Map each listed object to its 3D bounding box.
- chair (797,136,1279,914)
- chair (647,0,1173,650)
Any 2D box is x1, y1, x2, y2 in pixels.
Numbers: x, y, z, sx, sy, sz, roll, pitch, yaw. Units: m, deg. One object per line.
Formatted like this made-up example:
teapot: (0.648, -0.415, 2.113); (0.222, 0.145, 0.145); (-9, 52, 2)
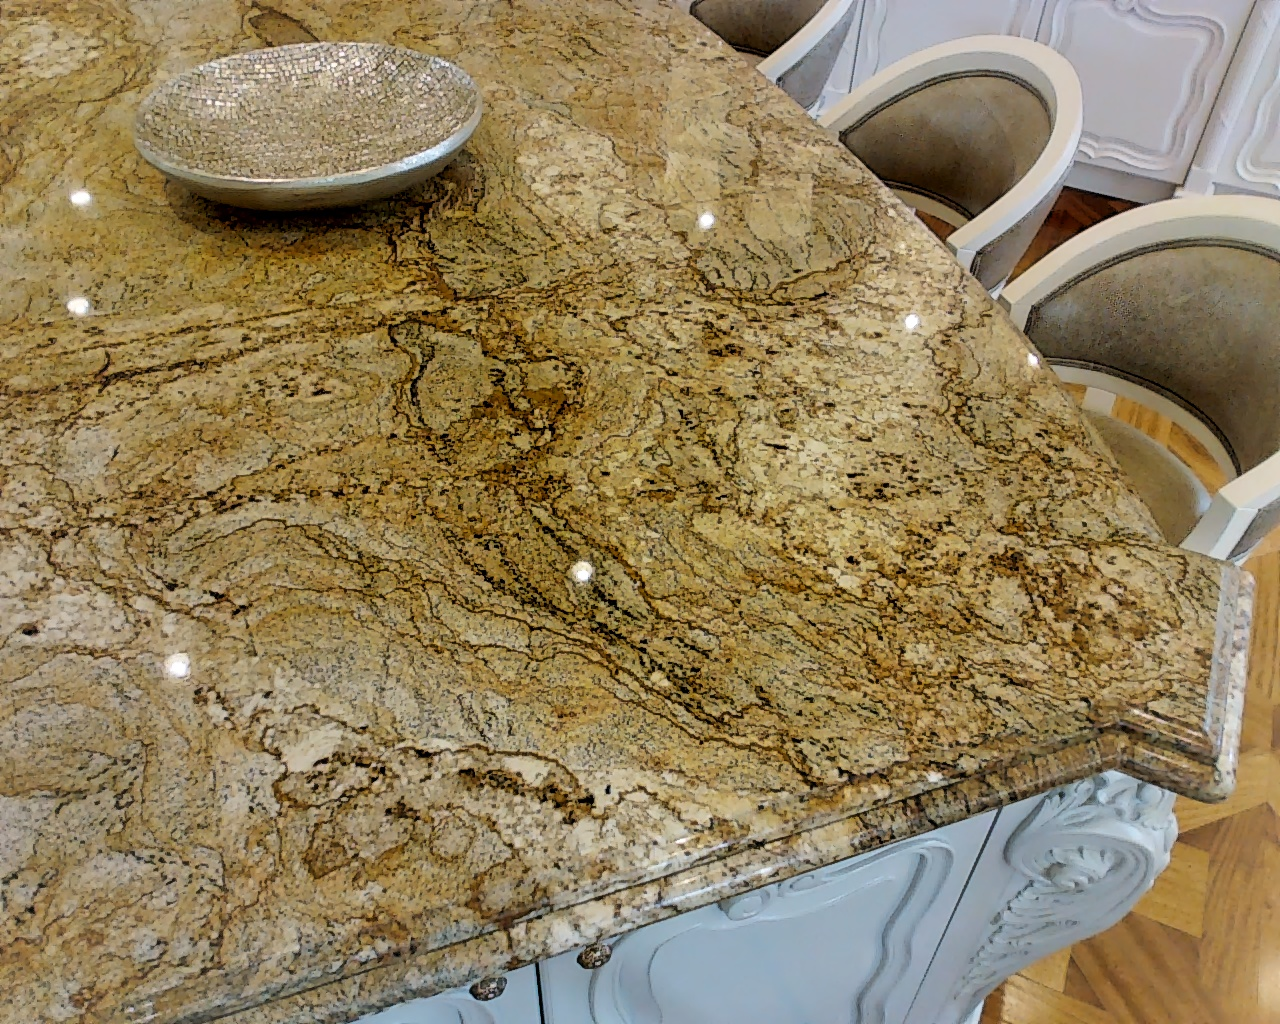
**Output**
chair: (0.660, 0.060, 1.660); (0.540, 1.040, 0.510); (-12, 45, -15)
chair: (0.410, -0.340, 2.090); (0.630, 1.060, 0.530); (-12, 45, -14)
